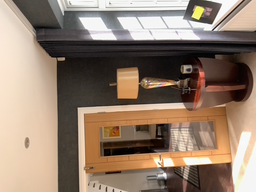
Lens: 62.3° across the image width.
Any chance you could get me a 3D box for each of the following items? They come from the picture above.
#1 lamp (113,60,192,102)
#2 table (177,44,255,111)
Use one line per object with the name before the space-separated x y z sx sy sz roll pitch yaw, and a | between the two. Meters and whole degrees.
lamp | 0.270 -0.170 2.630 0.440 0.880 0.400 123 144 -80
table | 1.050 -0.190 2.600 0.640 0.660 0.660 121 146 -80
